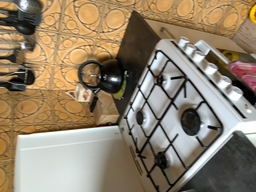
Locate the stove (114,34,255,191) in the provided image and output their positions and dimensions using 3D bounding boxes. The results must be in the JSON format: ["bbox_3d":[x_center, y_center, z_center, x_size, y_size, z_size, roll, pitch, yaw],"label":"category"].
[{"bbox_3d":[0.170,0.140,0.960,0.630,0.140,0.500,-65,36,36],"label":"stove"}]
